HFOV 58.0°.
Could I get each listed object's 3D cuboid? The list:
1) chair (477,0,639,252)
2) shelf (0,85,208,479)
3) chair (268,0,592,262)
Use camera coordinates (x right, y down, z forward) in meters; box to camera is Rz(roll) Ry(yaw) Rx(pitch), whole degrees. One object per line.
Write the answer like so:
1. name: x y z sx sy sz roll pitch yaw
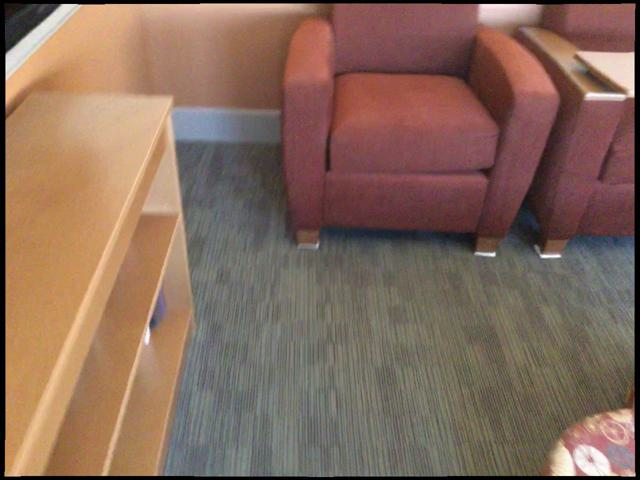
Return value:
1. chair: 1.178 -0.521 2.130 0.858 0.791 0.821 1 38 -2
2. shelf: -0.519 0.251 1.180 0.369 0.751 1.001 1 38 -2
3. chair: 0.289 -0.521 2.120 0.868 0.851 0.811 2 36 0
